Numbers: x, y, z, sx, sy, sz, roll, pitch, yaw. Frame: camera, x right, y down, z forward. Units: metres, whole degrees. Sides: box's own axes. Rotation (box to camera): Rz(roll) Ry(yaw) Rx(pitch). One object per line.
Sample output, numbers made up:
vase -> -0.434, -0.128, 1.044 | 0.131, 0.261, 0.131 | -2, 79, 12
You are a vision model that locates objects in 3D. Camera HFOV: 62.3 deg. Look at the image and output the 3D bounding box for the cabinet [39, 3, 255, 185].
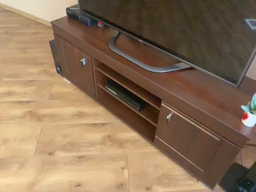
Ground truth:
cabinet -> 0.060, -0.140, 1.630 | 1.590, 0.570, 0.480 | 32, 51, 26
